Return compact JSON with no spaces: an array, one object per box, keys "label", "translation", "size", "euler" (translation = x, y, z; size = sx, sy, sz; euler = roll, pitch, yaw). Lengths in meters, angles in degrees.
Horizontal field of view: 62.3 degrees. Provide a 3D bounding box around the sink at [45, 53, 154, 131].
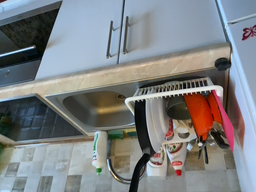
[{"label":"sink","translation":[-0.120,0.010,1.140],"size":[0.440,0.180,0.390],"euler":[-8,145,17]}]
